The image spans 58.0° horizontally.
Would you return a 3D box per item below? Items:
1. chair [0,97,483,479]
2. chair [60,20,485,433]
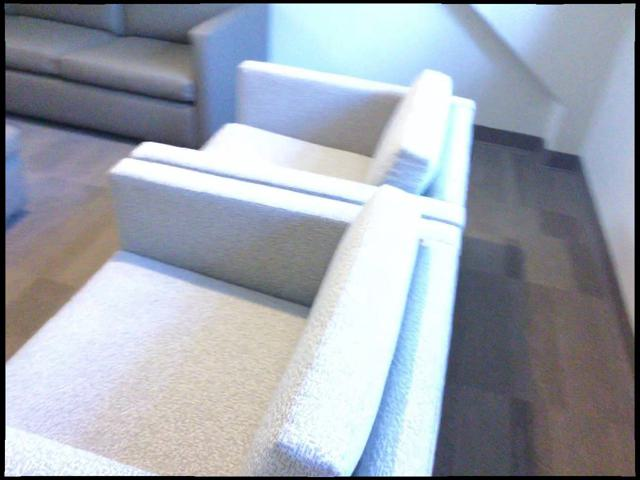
[{"bbox_3d":[-0.220,0.301,1.200,0.898,0.741,0.940,13,35,8],"label":"chair"},{"bbox_3d":[-0.050,-0.140,1.860,0.948,0.721,1.010,13,35,8],"label":"chair"}]
